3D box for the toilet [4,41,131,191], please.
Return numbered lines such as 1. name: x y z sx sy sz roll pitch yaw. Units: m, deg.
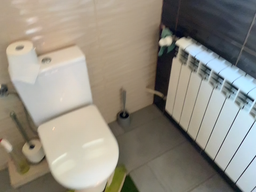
1. toilet: -0.300 0.230 1.210 0.380 0.800 0.600 -22 48 -19
